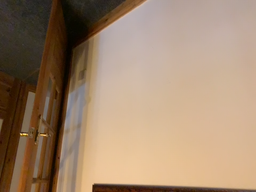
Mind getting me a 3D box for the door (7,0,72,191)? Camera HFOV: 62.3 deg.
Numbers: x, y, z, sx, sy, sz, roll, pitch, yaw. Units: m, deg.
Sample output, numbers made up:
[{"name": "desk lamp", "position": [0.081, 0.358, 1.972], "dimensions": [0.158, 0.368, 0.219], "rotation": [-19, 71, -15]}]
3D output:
[{"name": "door", "position": [-0.530, 0.310, 1.320], "dimensions": [0.090, 1.920, 0.540], "rotation": [1, 158, -4]}]
